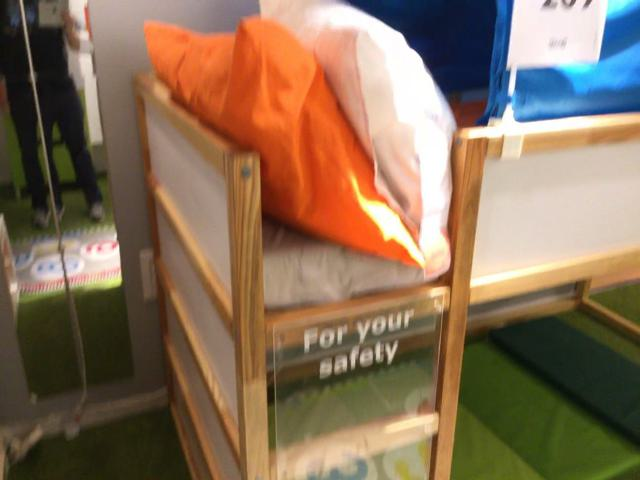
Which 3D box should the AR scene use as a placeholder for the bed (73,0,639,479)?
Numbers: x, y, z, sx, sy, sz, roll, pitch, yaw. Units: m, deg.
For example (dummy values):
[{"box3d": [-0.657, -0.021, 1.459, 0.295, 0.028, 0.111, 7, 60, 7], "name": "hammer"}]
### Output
[{"box3d": [0.500, -0.190, 1.770, 2.100, 1.860, 1.210, -9, 21, -27], "name": "bed"}]
